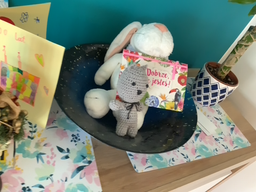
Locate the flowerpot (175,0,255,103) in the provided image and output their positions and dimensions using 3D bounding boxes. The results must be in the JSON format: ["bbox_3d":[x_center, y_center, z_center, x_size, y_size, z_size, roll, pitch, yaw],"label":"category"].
[{"bbox_3d":[0.390,-0.220,0.660,0.200,0.520,0.160,-6,51,-33],"label":"flowerpot"}]
